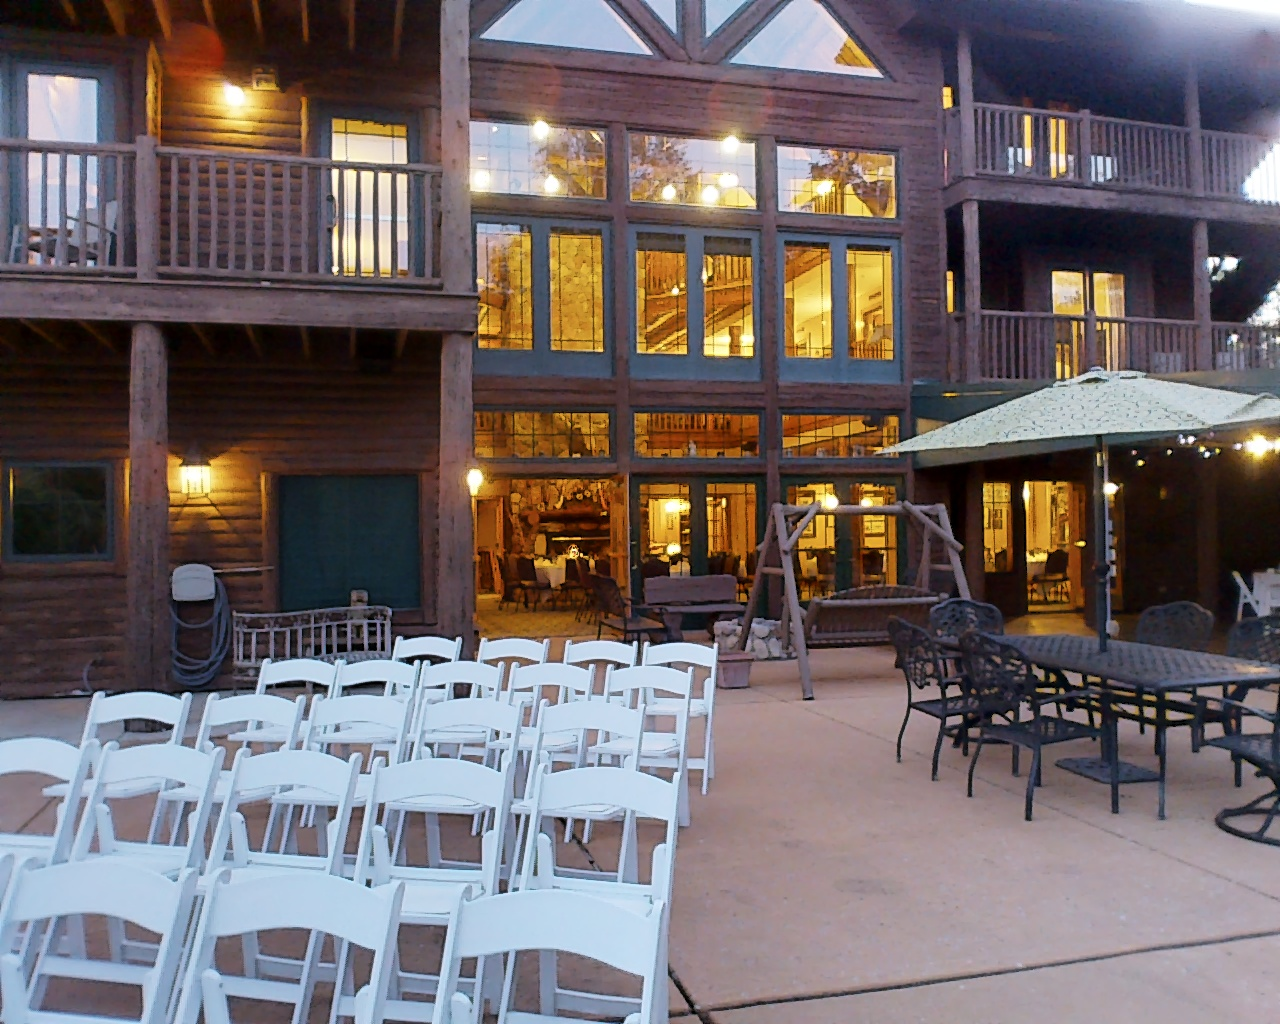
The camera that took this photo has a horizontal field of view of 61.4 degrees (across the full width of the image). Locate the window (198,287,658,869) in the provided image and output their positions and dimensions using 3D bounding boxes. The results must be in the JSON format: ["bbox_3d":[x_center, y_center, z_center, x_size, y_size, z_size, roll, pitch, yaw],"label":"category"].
[{"bbox_3d":[-0.980,0.300,5.420,1.980,2.541,1.150,-1,0,9],"label":"window"}]
